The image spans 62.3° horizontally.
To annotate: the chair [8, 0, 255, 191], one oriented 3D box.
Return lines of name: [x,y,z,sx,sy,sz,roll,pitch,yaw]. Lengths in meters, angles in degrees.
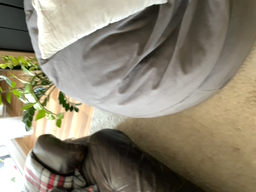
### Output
chair: [0.020,-0.340,0.890,0.840,0.610,0.940,31,114,37]
